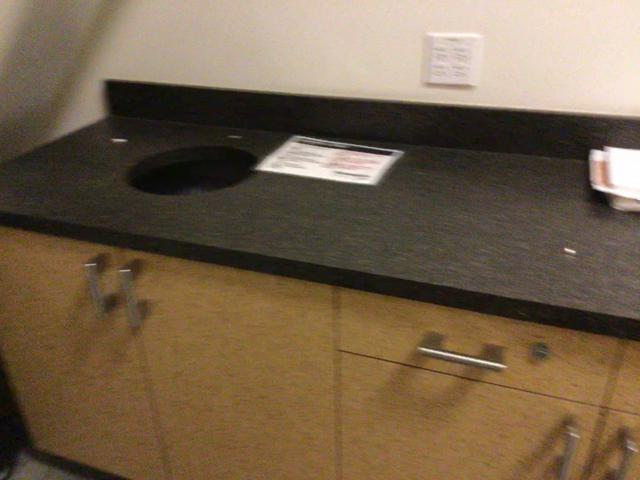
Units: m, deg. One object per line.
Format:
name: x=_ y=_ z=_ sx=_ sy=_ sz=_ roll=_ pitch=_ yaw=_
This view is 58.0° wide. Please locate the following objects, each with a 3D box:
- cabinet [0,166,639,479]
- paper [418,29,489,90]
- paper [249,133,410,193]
cabinet: x=0.430 y=0.450 z=0.990 sx=2.670 sy=0.850 sz=0.080 roll=11 pitch=29 yaw=19
paper: x=0.300 y=-0.410 z=1.310 sx=0.140 sy=0.120 sz=0.030 roll=11 pitch=29 yaw=19
paper: x=0.030 y=-0.190 z=1.370 sx=0.310 sy=0.020 sz=0.260 roll=11 pitch=29 yaw=19
